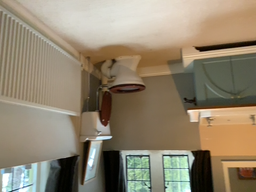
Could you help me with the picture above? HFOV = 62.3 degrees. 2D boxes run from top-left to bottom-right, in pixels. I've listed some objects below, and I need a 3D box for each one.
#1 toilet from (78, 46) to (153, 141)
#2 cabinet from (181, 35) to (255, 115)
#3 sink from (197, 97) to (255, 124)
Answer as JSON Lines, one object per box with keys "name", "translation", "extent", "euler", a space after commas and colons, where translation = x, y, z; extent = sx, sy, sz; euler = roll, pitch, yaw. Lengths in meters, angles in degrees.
{"name": "toilet", "translation": [-0.140, 0.020, 2.560], "extent": [0.730, 0.980, 0.560], "euler": [-5, 169, 14]}
{"name": "cabinet", "translation": [1.160, -0.200, 2.380], "extent": [1.030, 0.730, 0.530], "euler": [-5, 169, 13]}
{"name": "sink", "translation": [1.170, 0.170, 2.370], "extent": [0.710, 0.230, 0.410], "euler": [-5, 169, 13]}
